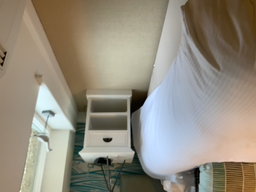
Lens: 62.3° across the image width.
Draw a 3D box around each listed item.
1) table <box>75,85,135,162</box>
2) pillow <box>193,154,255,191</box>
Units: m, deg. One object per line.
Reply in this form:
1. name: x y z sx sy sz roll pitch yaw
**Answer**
1. table: -0.200 0.290 2.110 0.490 0.620 0.520 0 154 -2
2. pillow: 0.690 0.610 1.450 0.440 0.380 0.150 0 -175 -5
